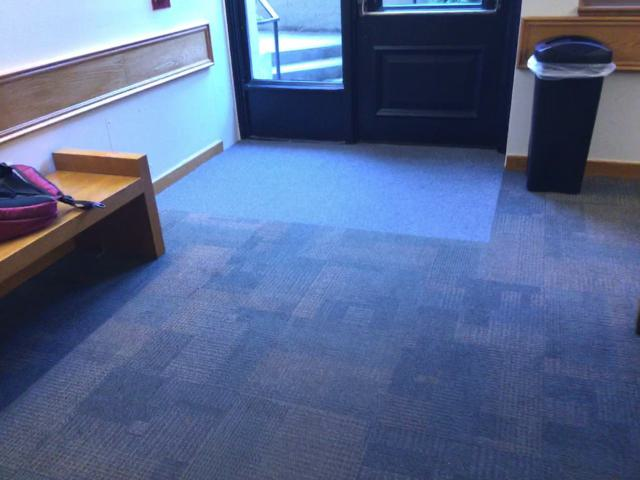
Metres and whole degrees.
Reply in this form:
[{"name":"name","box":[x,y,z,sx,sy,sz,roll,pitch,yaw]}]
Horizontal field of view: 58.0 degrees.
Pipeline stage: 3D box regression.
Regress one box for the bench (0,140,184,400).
[{"name":"bench","box":[-1.290,0.180,2.100,0.570,0.540,1.910,8,27,18]}]

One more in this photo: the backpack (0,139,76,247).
[{"name":"backpack","box":[-1.250,-0.180,2.210,0.410,0.250,0.460,-22,32,-36]}]
